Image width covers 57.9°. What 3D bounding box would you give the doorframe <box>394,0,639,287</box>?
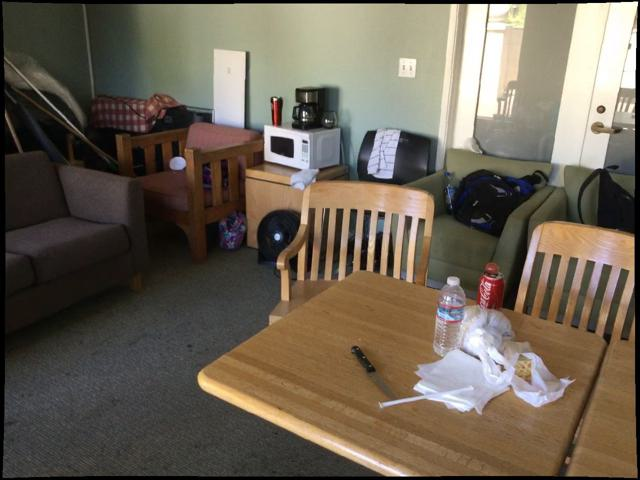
[{"bbox_3d":[1.329,-0.751,3.150,1.789,1.832,0.300,13,26,29],"label":"doorframe"}]
